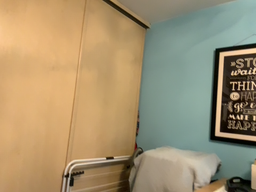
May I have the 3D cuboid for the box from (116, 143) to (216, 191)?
[{"bbox_3d":[0.230,0.750,1.450,0.550,0.760,0.360,1,-8,42],"label":"box"}]
